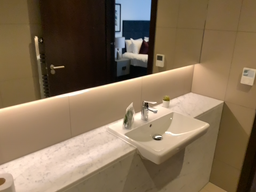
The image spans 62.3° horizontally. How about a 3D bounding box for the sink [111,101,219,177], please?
[{"bbox_3d":[0.250,0.240,1.460,0.560,0.150,0.480,-16,27,-40],"label":"sink"}]
